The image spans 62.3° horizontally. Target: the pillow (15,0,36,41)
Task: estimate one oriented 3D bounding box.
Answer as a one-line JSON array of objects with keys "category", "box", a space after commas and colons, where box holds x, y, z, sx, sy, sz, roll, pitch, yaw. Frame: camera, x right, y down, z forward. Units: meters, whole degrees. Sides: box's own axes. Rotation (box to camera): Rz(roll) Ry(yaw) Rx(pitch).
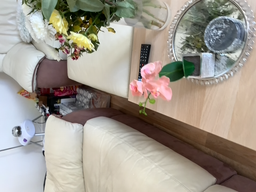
[{"category": "pillow", "box": [-0.850, -0.650, 1.750, 0.310, 0.070, 0.340, 24, 113, 44]}]
